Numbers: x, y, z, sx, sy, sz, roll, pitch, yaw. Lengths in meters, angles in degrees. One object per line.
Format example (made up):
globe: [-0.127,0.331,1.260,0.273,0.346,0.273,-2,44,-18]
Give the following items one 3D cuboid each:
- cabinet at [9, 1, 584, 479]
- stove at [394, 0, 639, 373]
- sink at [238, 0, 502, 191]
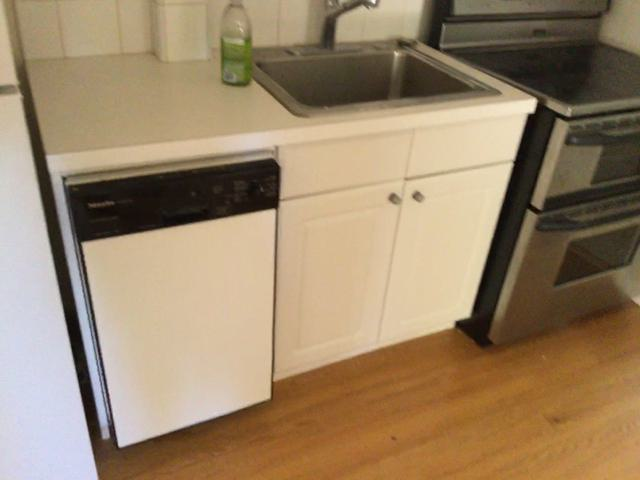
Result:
cabinet: [-0.080,-0.080,1.750,1.310,1.010,0.690,-13,35,-21]
stove: [0.840,-0.310,2.040,0.820,1.160,0.760,-10,34,-17]
sink: [0.110,-0.480,1.670,0.540,0.410,0.500,-13,35,-21]
